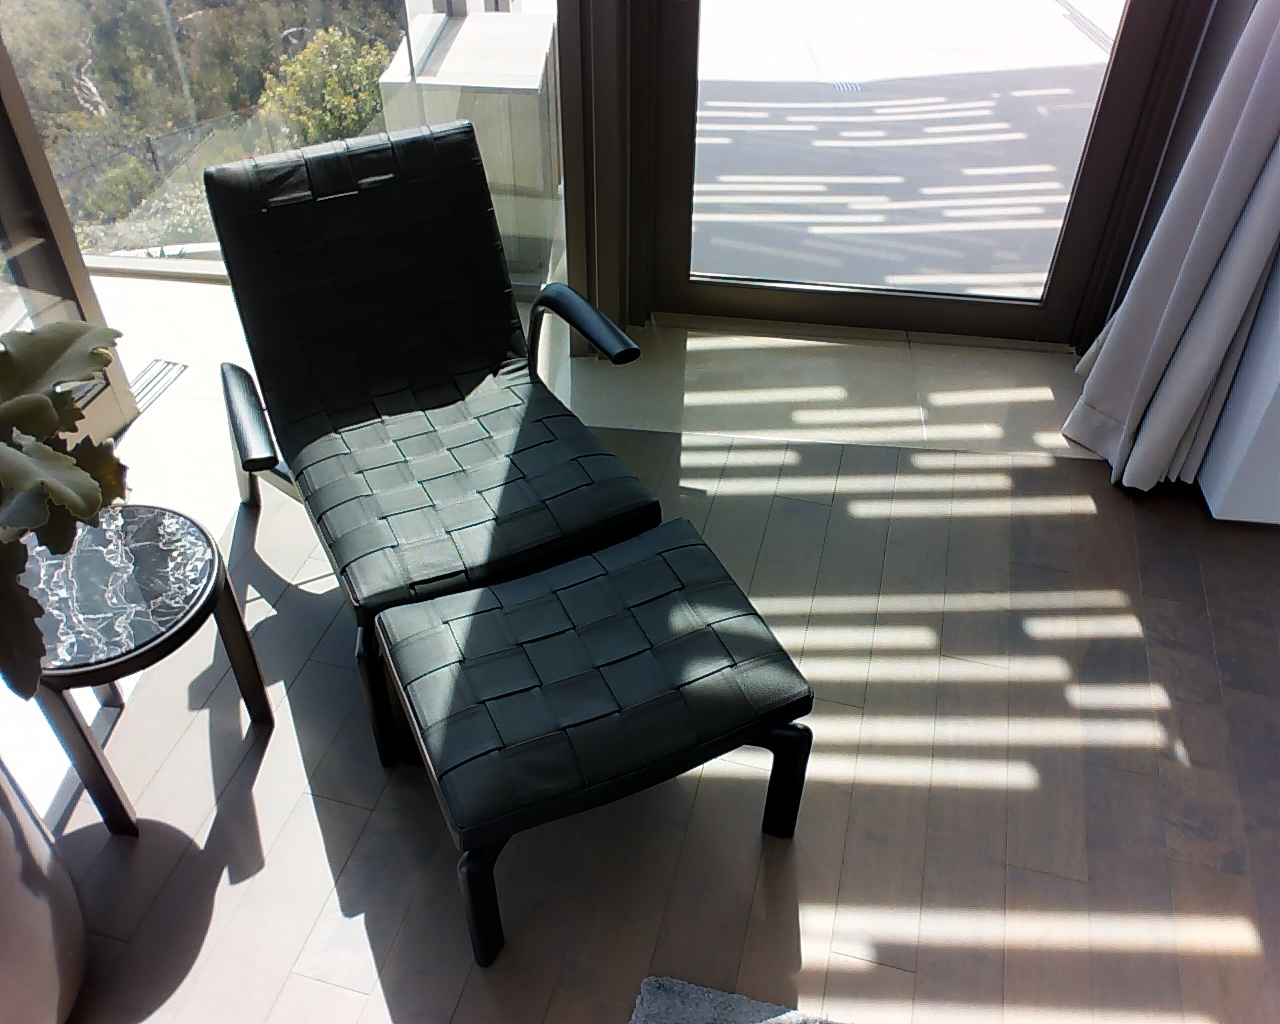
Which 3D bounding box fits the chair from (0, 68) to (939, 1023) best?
[{"bbox_3d":[-0.380,-0.070,1.800,0.940,0.740,1.350,-19,46,-21],"label":"chair"}]
